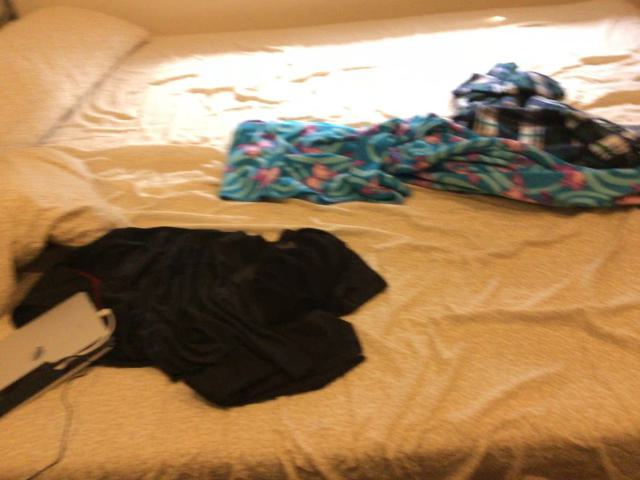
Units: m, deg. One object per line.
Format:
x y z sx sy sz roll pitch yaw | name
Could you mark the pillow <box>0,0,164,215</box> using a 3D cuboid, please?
-0.820 -0.470 1.620 0.560 0.280 0.890 -5 44 2 | pillow
